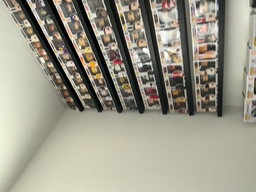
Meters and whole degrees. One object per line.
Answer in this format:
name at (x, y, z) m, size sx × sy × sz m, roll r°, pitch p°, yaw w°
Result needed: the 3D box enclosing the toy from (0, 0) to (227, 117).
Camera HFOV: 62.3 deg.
toy at (-0.150, -0.530, 1.370) m, size 0.160 × 1.430 × 1.690 m, roll -67°, pitch -31°, yaw -44°
